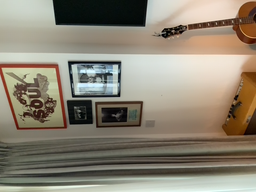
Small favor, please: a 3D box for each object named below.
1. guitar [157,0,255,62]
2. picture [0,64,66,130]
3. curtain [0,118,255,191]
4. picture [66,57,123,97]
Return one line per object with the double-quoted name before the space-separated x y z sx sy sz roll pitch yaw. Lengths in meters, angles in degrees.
"guitar" 0.810 -0.550 1.600 0.300 1.120 0.460 85 -168 -73
"picture" -0.760 0.030 1.740 0.030 0.430 0.610 -100 12 -58
"curtain" 0.150 0.510 1.560 0.660 2.530 0.330 -99 11 -55
"picture" -0.260 -0.140 1.690 0.030 0.420 0.340 -99 11 -56
